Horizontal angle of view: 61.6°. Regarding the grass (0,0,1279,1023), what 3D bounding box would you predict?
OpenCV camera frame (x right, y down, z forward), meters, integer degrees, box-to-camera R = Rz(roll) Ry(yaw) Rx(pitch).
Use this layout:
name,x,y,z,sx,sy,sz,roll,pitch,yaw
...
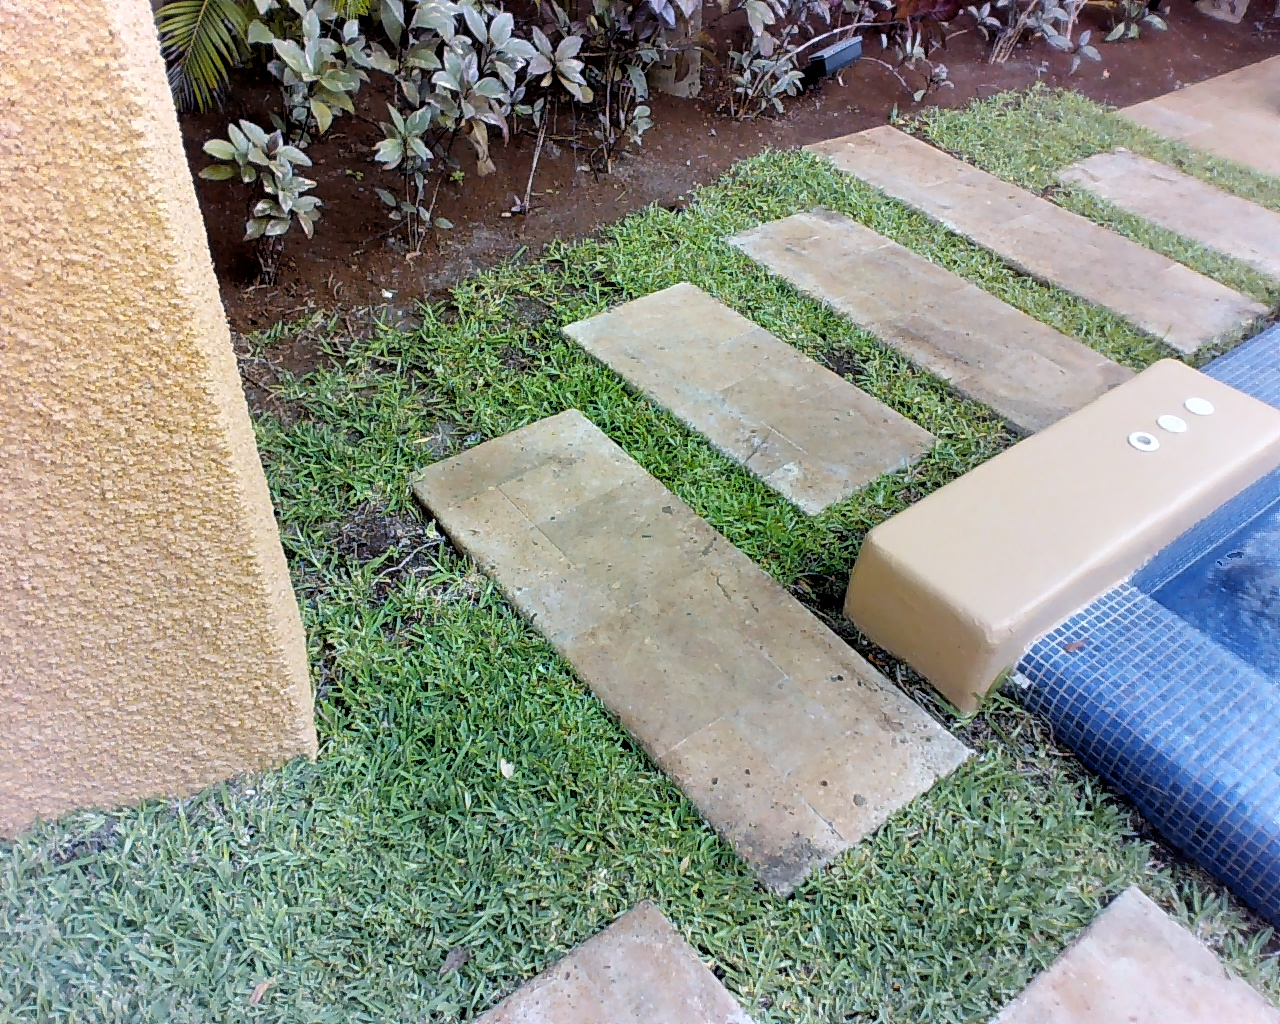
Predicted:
name,x,y,z,sx,sy,sz,roll,pitch,yaw
grass,1.730,-0.720,2.770,7.339,0.600,4.760,-26,49,-28
